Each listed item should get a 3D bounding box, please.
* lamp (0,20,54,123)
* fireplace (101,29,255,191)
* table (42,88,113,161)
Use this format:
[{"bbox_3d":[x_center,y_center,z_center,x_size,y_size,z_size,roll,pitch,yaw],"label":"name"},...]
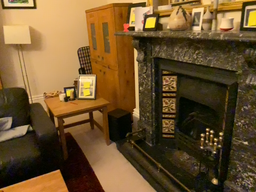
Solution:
[{"bbox_3d":[-1.520,-0.370,3.210,0.480,1.450,0.340,-14,22,-31],"label":"lamp"},{"bbox_3d":[0.450,0.120,1.800,0.650,1.280,1.860,-11,21,-25],"label":"fireplace"},{"bbox_3d":[-0.610,0.290,2.550,0.620,0.540,0.620,-13,22,-28],"label":"table"}]
